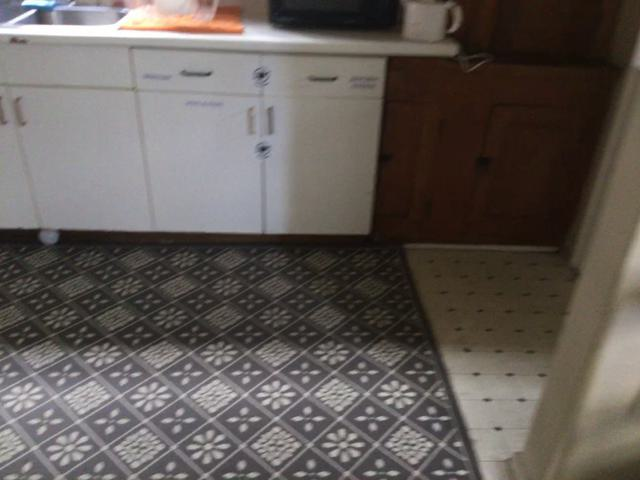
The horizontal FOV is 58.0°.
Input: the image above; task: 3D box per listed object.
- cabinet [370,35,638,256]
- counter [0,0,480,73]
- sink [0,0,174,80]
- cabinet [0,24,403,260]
[{"bbox_3d":[0.700,-0.360,2.380,0.890,0.870,0.190,-1,30,-6],"label":"cabinet"},{"bbox_3d":[-0.990,-0.890,2.150,3.020,0.300,0.660,-1,30,-6],"label":"counter"},{"bbox_3d":[-1.030,-0.820,2.200,0.840,0.250,0.580,-1,30,-6],"label":"sink"},{"bbox_3d":[-1.110,-0.350,2.230,2.770,0.880,0.200,-1,30,-6],"label":"cabinet"}]
